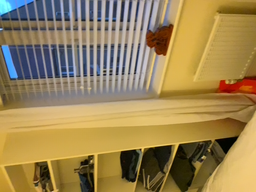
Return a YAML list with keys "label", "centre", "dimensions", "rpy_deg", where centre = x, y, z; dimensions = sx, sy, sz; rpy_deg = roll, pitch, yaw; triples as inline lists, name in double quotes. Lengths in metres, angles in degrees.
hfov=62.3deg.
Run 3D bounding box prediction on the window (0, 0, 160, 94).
- label: "window"
  centre: [-0.330, -0.390, 1.520]
  dimensions: [0.120, 1.030, 0.770]
  rpy_deg: [-111, 23, -48]
